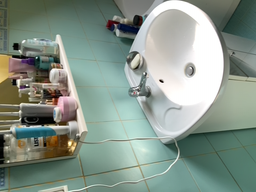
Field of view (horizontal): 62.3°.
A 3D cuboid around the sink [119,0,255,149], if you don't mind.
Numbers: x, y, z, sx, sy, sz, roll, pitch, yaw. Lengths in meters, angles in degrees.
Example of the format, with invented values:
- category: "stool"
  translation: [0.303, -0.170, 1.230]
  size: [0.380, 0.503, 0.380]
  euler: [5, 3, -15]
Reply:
- category: "sink"
  translation: [0.220, -0.150, 0.930]
  size: [0.450, 0.210, 0.570]
  euler: [-63, 40, 38]
